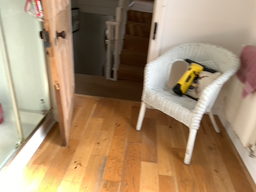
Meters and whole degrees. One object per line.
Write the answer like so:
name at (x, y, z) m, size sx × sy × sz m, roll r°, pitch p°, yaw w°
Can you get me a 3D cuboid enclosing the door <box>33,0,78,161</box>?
door at (-0.500, -0.600, 1.540) m, size 0.130 × 2.080 × 0.830 m, roll 0°, pitch 29°, yaw -9°
